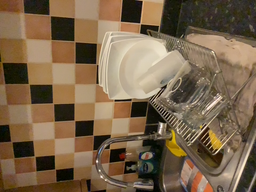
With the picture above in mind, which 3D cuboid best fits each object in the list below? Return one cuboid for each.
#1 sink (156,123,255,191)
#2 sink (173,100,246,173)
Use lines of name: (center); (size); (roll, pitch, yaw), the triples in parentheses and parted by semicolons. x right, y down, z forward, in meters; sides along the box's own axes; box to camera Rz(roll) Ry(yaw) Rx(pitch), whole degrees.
sink: (0.340, 0.440, 1.040); (0.510, 0.160, 0.410); (-126, 39, -62)
sink: (0.340, 0.160, 0.950); (0.300, 0.120, 0.180); (-126, 39, -62)
